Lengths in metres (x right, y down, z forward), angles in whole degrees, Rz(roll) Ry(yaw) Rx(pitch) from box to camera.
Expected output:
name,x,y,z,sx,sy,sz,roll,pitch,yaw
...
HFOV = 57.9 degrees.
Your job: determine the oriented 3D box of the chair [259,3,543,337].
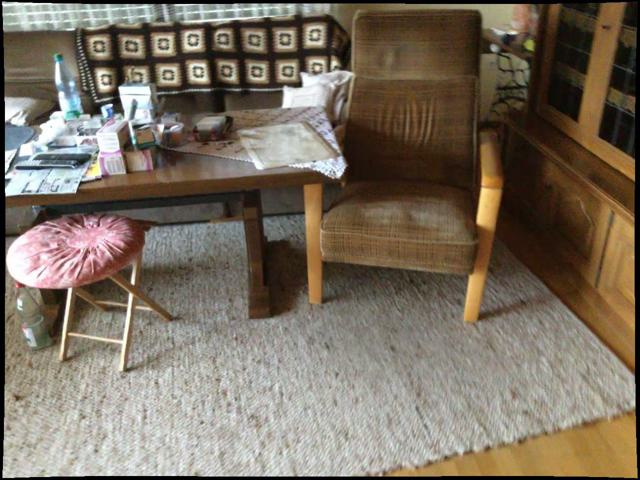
name,x,y,z,sx,sy,sz,roll,pitch,yaw
chair,0.360,-0.350,2.360,0.869,1.001,0.880,9,32,16
